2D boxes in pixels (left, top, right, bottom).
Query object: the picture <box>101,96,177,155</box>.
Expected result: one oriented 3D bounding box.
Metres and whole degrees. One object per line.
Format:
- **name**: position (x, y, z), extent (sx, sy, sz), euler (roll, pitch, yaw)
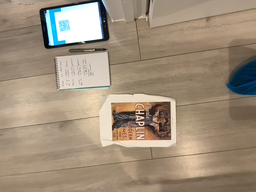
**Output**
- **picture**: position (0.040, 0.110, 0.810), extent (0.280, 0.040, 0.210), euler (1, 93, 3)
